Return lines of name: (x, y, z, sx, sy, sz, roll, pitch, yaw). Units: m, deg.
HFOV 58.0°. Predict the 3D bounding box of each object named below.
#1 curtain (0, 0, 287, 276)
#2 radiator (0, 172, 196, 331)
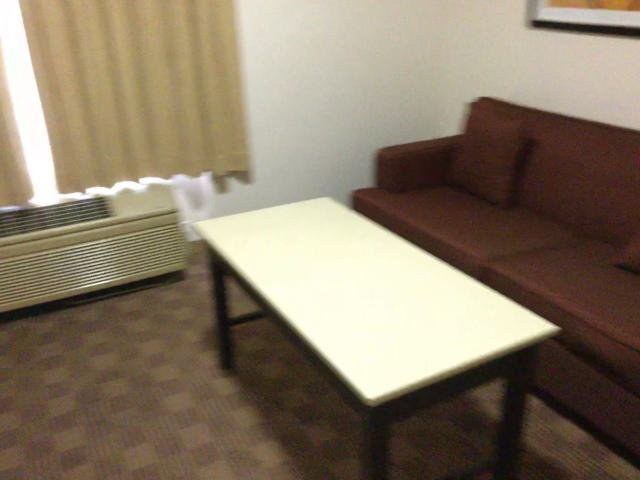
curtain: (-1.130, -0.580, 2.290, 1.890, 1.250, 0.530, -13, 24, -26)
radiator: (-1.120, 0.050, 2.540, 1.070, 0.510, 0.190, -13, 24, -26)
